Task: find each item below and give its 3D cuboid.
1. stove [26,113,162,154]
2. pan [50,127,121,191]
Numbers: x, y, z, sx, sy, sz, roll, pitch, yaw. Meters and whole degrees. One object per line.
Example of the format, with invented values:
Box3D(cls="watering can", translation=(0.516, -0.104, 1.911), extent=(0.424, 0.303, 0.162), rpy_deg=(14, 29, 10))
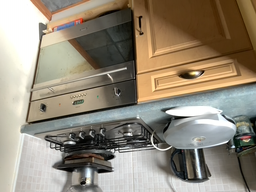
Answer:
Box3D(cls="stove", translation=(-0.150, 0.250, 1.240), extent=(0.600, 0.030, 0.540), rpy_deg=(-11, 153, 16))
Box3D(cls="pan", translation=(-0.250, 0.470, 1.310), extent=(0.350, 0.460, 0.220), rpy_deg=(-11, 153, 16))
